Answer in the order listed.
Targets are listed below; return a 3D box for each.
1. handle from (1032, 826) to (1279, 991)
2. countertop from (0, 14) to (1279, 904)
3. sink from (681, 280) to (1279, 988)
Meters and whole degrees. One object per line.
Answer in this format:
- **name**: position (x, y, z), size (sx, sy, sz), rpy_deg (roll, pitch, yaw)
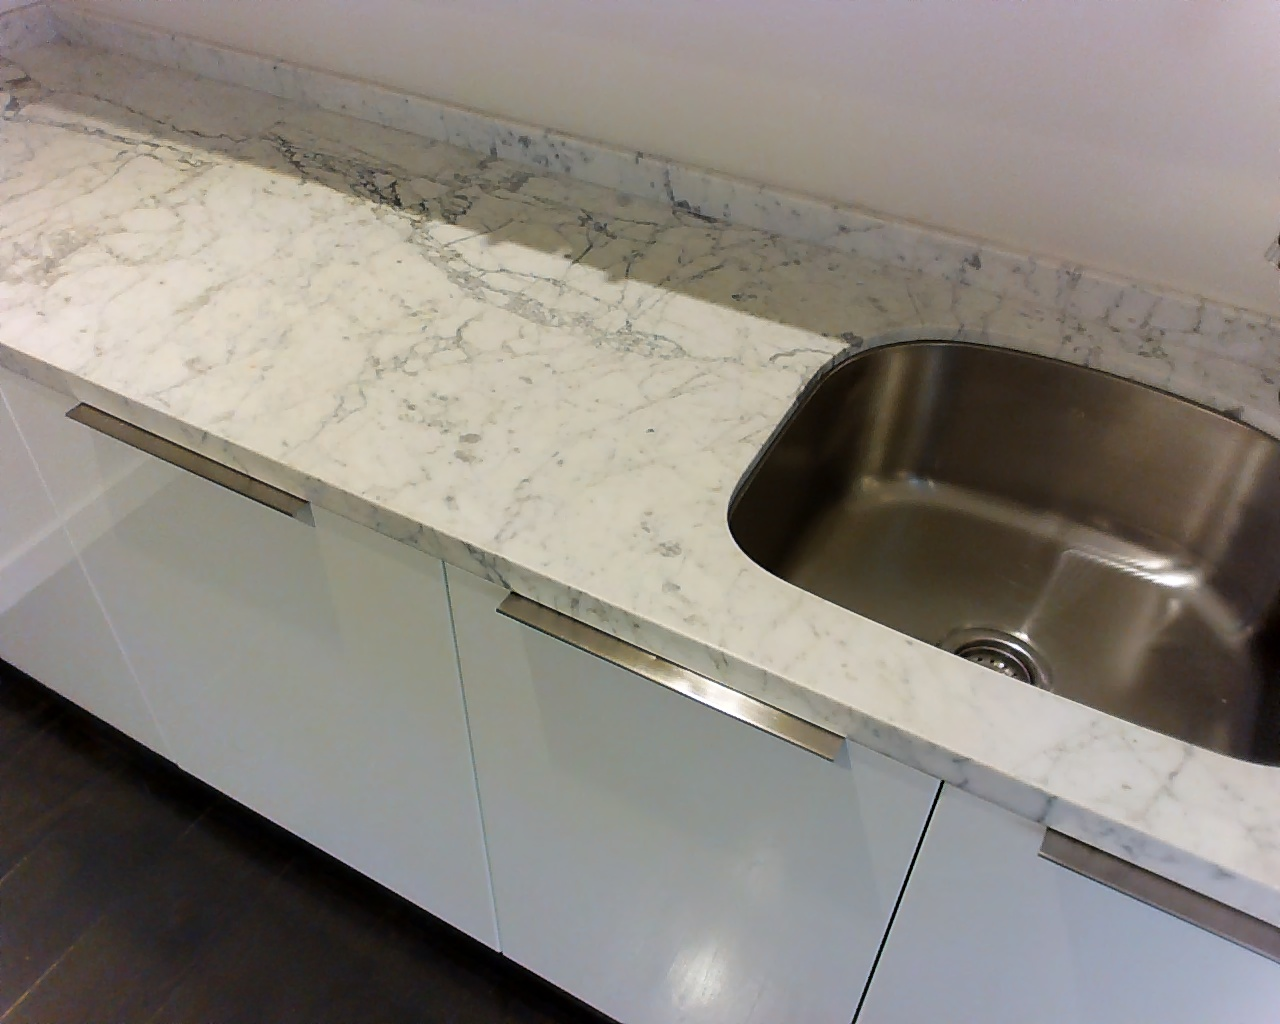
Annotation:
- **handle**: position (0.430, 0.300, 0.720), size (0.320, 0.040, 0.020), rpy_deg (22, 47, 20)
- **countertop**: position (-0.160, -0.230, 1.170), size (2.160, 0.040, 0.620), rpy_deg (22, 47, 20)
- **sink**: position (0.390, 0.070, 1.050), size (0.530, 0.270, 0.470), rpy_deg (22, 47, 20)
